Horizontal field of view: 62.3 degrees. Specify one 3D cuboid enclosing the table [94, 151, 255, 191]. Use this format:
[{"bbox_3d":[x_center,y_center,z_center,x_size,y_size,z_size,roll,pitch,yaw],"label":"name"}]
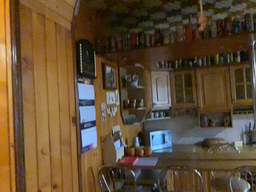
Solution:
[{"bbox_3d":[0.510,1.170,2.240,1.580,1.030,0.560,-4,-2,15],"label":"table"}]
